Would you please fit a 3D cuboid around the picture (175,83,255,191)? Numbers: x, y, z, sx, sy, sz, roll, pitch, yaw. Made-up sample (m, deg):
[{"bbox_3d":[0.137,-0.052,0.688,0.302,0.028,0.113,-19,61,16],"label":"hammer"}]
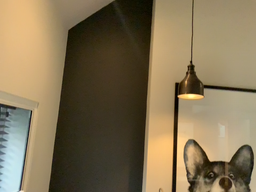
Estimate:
[{"bbox_3d":[0.760,0.430,1.690,0.720,0.990,0.140,5,-9,-8],"label":"picture"}]
